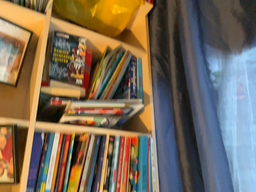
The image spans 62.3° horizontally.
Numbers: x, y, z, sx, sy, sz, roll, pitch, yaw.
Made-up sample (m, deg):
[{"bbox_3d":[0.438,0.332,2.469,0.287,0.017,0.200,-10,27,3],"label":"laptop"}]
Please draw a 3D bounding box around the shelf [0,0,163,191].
[{"bbox_3d":[-0.340,-0.040,0.770,0.910,1.090,0.260,12,155,-29],"label":"shelf"}]
